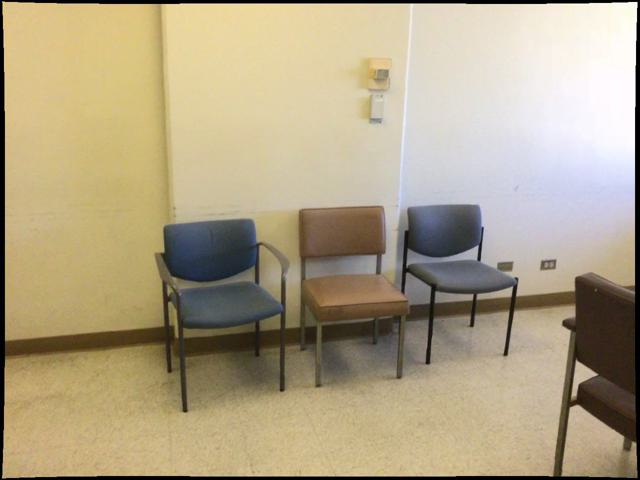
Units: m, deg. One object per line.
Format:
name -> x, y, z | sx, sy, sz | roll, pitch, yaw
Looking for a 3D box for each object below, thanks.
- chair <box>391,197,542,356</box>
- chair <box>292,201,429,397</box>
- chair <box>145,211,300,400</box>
chair -> 0.788, 0.170, 3.260 | 0.569, 0.672, 0.620 | -5, 18, -13
chair -> 0.180, 0.271, 3.000 | 0.559, 0.802, 0.600 | -4, 18, -9
chair -> -0.499, 0.281, 2.870 | 0.609, 0.652, 0.650 | -7, 19, -19
